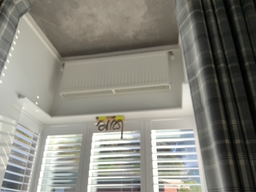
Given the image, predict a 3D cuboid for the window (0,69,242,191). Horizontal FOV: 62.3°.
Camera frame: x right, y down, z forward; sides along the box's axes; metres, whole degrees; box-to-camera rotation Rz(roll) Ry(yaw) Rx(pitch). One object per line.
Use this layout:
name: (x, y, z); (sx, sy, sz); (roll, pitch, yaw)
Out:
window: (-0.130, 0.680, 1.820); (1.910, 1.750, 0.350); (-4, 152, 9)
